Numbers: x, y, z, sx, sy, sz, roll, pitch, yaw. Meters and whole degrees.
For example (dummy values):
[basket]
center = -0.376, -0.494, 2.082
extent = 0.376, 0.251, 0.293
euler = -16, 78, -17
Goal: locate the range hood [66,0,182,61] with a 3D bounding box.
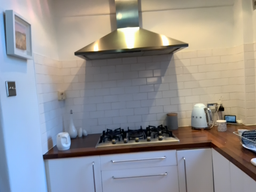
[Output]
[range hood]
center = -0.030, -0.620, 1.910
extent = 0.890, 0.490, 0.450
euler = -5, 4, 1
